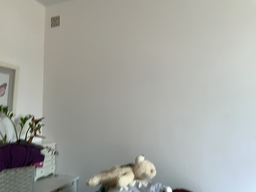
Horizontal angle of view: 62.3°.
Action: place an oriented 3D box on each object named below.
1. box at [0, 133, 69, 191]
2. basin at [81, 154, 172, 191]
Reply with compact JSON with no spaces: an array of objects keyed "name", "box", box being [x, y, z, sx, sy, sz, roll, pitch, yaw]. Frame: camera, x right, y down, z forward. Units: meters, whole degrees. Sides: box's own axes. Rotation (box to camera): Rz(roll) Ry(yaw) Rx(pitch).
[{"name":"box","box":[-0.870,0.530,1.750,0.540,0.390,0.510,-1,-5,19]},{"name":"basin","box":[0.020,0.660,1.470,0.470,0.380,0.510,-2,-5,23]}]
